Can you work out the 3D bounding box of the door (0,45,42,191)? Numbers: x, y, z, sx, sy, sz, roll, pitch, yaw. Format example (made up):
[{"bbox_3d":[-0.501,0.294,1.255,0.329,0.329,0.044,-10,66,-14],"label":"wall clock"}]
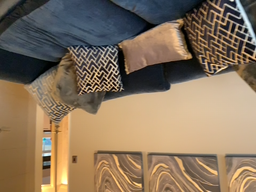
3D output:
[{"bbox_3d":[-1.420,0.440,2.780,0.040,2.000,0.820,-4,170,11],"label":"door"}]

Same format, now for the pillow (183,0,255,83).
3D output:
[{"bbox_3d":[0.480,-0.340,1.150,0.150,0.370,0.370,12,142,-12],"label":"pillow"}]

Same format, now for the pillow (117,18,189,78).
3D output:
[{"bbox_3d":[0.170,-0.340,1.540,0.480,0.230,0.140,-21,133,25],"label":"pillow"}]

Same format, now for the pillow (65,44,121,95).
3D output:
[{"bbox_3d":[-0.260,-0.220,1.700,0.380,0.400,0.130,-1,148,5],"label":"pillow"}]
